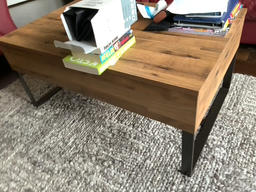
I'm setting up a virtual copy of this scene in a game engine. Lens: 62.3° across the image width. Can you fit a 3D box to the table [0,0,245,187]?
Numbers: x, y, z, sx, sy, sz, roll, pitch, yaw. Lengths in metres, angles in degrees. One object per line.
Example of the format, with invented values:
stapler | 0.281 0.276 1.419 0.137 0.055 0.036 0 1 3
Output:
table | -0.050 -0.130 1.100 0.990 0.470 0.610 17 47 28
